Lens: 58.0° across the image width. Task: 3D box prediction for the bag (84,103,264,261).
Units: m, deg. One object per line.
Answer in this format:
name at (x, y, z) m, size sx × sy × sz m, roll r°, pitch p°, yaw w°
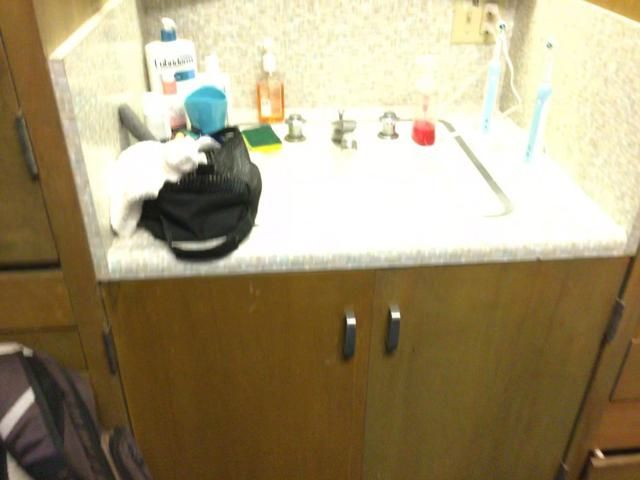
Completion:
bag at (-0.210, -0.100, 0.910) m, size 0.230 × 0.160 × 0.220 m, roll -3°, pitch 31°, yaw -5°
